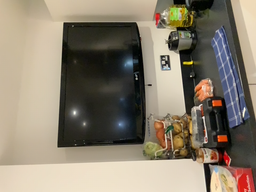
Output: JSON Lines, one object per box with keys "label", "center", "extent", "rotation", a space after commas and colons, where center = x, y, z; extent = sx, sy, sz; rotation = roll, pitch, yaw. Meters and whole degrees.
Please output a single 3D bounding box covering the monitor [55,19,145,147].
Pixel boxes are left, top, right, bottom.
{"label": "monitor", "center": [-0.220, -0.140, 1.690], "extent": [0.060, 0.640, 1.040], "rotation": [98, 170, -74]}
